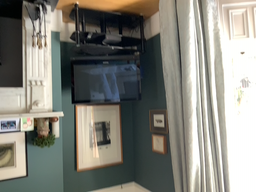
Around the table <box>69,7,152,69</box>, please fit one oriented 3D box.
[{"bbox_3d":[-0.280,-0.780,3.070,1.070,0.670,0.600,-1,178,-14],"label":"table"}]

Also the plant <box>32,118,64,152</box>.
[{"bbox_3d":[-0.960,0.450,2.530,0.320,0.350,0.230,-1,177,-30],"label":"plant"}]
